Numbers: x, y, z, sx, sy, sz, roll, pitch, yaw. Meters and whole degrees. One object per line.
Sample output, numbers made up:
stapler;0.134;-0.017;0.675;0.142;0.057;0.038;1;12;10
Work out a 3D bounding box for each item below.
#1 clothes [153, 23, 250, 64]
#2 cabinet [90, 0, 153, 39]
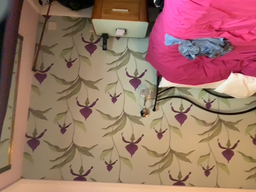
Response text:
clothes;0.540;-0.380;1.630;0.560;0.100;0.420;5;174;-18
cabinet;-0.060;-0.880;2.160;0.560;0.400;0.460;3;174;-2
